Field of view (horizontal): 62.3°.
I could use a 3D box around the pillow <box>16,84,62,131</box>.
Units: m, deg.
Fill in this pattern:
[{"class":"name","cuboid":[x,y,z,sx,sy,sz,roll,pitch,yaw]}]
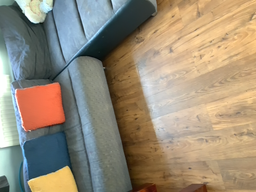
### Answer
[{"class":"pillow","cuboid":[-0.880,0.110,2.130,0.120,0.400,0.420,-12,83,28]}]
